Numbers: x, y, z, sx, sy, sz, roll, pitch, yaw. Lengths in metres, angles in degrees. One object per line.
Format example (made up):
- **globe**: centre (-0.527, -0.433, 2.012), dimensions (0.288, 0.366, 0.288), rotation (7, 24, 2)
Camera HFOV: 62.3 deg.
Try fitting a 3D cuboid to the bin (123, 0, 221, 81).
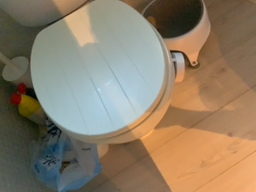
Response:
- **bin**: centre (0.200, -0.300, 1.010), dimensions (0.320, 0.190, 0.280), rotation (-31, 58, -2)
